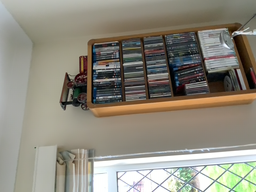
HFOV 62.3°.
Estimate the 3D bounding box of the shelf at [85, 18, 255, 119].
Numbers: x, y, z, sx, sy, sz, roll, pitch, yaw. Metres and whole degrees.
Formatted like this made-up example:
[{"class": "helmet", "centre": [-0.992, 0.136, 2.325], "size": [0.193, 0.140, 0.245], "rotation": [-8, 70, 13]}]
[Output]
[{"class": "shelf", "centre": [0.250, -0.180, 1.360], "size": [0.150, 1.020, 0.530], "rotation": [78, -174, -68]}]
